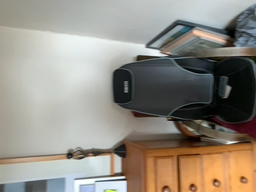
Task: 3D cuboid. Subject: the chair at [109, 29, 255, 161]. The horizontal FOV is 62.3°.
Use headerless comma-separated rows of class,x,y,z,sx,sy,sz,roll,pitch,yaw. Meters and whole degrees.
chair,0.510,-0.020,1.490,0.910,1.050,0.550,-165,78,-69
